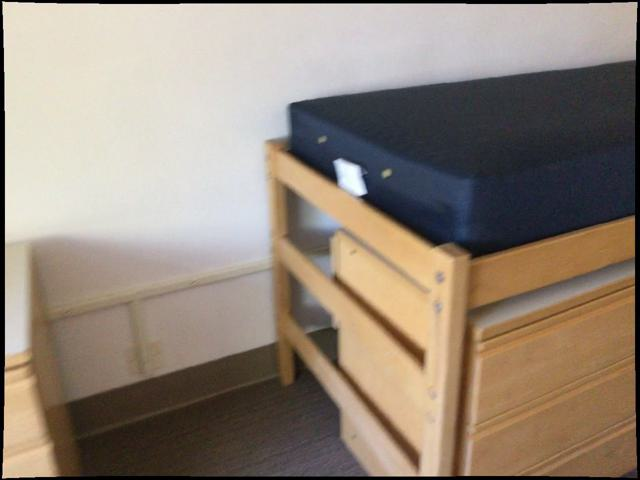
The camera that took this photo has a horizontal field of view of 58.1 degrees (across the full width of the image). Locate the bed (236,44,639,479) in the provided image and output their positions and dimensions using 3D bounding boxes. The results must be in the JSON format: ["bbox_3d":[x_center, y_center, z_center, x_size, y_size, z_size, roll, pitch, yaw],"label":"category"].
[{"bbox_3d":[0.987,0.000,2.030,2.215,1.122,1.060,-13,25,-20],"label":"bed"}]
